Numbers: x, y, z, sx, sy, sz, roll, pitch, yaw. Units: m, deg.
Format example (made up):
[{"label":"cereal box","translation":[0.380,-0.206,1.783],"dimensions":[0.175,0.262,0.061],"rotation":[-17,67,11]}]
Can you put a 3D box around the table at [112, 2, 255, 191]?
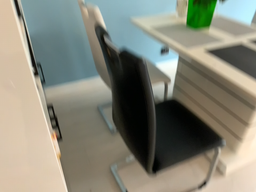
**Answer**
[{"label":"table","translation":[0.580,-0.140,1.730],"dimensions":[0.810,0.780,1.680],"rotation":[-16,39,-21]}]

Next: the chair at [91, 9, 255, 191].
[{"label":"chair","translation":[0.220,0.110,1.140],"dimensions":[0.650,0.950,0.400],"rotation":[-15,38,-20]}]

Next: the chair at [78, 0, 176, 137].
[{"label":"chair","translation":[-0.020,-0.230,1.680],"dimensions":[0.530,0.950,0.400],"rotation":[-16,39,-21]}]
